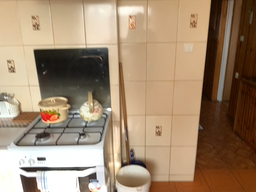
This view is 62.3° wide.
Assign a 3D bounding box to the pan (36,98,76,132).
[{"bbox_3d":[-0.550,0.140,1.650,0.210,0.190,0.210,1,18,3],"label":"pan"}]

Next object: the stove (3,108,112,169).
[{"bbox_3d":[-0.440,0.270,1.570,0.570,0.140,0.640,1,18,3],"label":"stove"}]

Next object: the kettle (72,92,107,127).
[{"bbox_3d":[-0.290,0.100,1.650,0.210,0.210,0.190,1,18,4],"label":"kettle"}]
